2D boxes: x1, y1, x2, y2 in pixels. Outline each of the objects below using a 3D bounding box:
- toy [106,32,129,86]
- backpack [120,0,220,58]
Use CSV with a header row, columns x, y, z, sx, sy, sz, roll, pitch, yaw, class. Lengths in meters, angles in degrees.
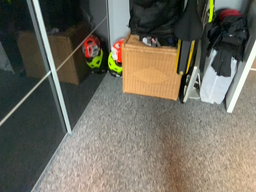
x,y,z,sx,sy,sz,roll,pitch,yaw,class
-0.100,-0.380,2.220,0.150,0.460,0.290,10,41,10,toy
0.350,-0.840,1.710,0.730,0.850,0.420,12,41,13,backpack
